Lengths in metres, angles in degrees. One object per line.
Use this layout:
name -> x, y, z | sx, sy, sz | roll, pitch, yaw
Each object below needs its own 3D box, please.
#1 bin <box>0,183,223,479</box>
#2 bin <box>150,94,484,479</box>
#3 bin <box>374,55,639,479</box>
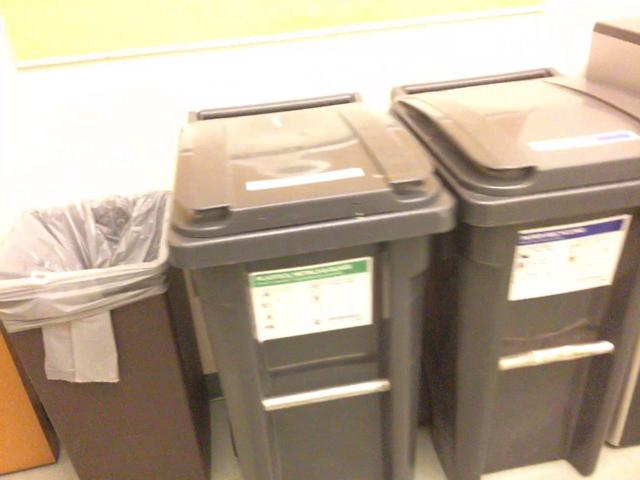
bin -> -0.490, 0.290, 1.420 | 0.390, 0.720, 0.390 | -8, 29, -6
bin -> -0.020, 0.150, 1.320 | 0.510, 0.770, 0.610 | -8, 29, -6
bin -> 0.460, 0.120, 1.360 | 0.510, 0.920, 0.610 | -8, 29, -6
